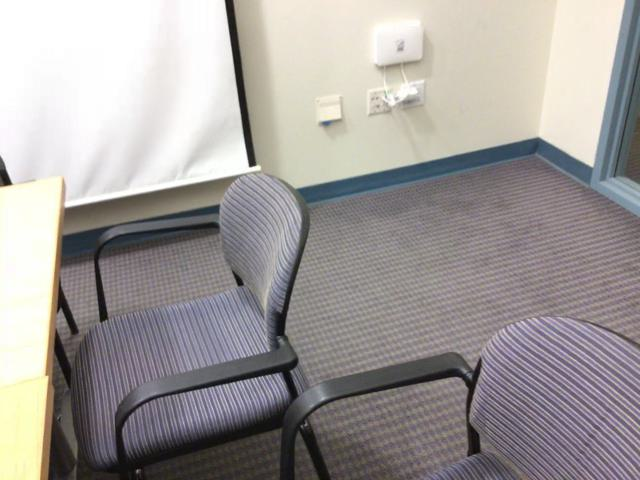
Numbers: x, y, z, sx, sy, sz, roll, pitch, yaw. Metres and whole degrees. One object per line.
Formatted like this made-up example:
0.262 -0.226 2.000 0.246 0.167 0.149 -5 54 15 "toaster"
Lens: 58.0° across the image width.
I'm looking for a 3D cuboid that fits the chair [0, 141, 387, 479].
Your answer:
-0.260 0.270 1.330 0.620 0.720 0.550 -16 32 -10 "chair"
